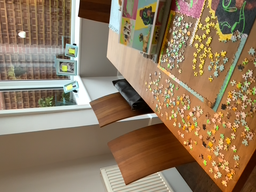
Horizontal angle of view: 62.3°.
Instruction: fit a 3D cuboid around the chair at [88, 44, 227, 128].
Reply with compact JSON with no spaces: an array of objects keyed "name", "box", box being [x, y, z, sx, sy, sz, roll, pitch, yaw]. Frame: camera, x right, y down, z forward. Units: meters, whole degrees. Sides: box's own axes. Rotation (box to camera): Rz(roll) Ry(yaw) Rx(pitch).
[{"name":"chair","box":[0.220,-0.110,1.750,0.420,0.970,0.470,-126,40,-49]}]
